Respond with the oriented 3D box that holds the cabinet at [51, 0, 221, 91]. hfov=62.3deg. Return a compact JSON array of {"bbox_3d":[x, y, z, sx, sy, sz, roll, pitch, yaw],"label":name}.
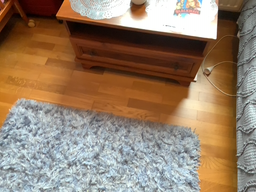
[{"bbox_3d":[0.080,-0.470,1.400,0.860,0.490,0.540,12,63,7],"label":"cabinet"}]
